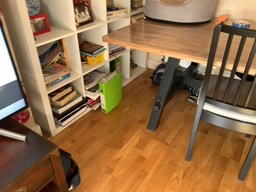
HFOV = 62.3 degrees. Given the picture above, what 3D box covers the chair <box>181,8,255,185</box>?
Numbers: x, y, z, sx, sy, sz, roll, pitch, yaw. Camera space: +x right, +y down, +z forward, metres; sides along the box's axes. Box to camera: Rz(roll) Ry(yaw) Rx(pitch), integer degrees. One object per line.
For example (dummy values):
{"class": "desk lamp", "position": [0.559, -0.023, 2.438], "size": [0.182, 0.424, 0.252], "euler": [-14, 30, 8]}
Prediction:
{"class": "chair", "position": [0.670, 0.000, 1.370], "size": [0.410, 0.950, 0.520], "euler": [14, 36, 21]}
